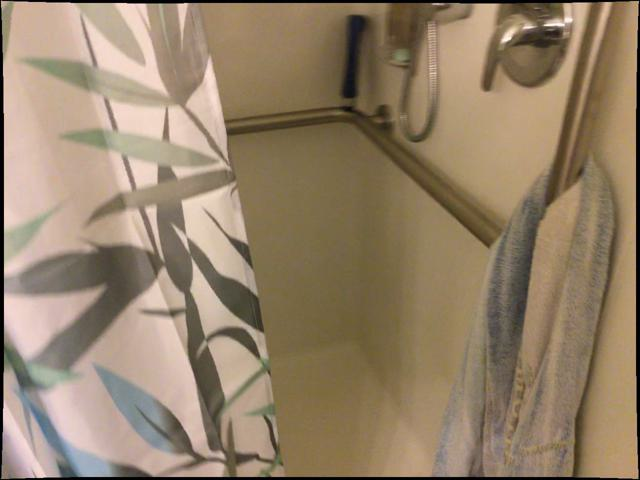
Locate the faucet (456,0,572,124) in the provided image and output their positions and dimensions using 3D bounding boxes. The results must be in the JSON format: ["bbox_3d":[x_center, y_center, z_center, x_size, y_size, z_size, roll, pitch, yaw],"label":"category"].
[{"bbox_3d":[0.289,-0.311,0.890,0.070,0.200,0.180,-15,34,-13],"label":"faucet"}]

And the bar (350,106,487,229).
[{"bbox_3d":[0.180,-0.170,1.190,0.050,0.050,0.510,-15,34,-13],"label":"bar"}]

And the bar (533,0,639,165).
[{"bbox_3d":[0.329,-0.281,0.670,0.080,0.371,0.090,-15,34,-13],"label":"bar"}]
